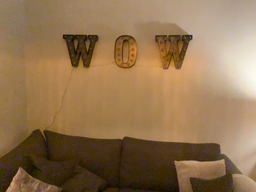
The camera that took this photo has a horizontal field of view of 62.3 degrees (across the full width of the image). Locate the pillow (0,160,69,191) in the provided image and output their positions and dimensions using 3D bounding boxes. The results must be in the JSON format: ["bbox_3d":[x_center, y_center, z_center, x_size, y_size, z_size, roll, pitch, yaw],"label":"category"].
[{"bbox_3d":[-0.760,0.790,1.660,0.440,0.200,0.400,34,7,-4],"label":"pillow"}]

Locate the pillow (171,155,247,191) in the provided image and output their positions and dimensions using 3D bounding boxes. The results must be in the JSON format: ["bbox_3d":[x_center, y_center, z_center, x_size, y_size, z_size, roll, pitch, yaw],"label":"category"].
[{"bbox_3d":[0.640,0.780,1.790,0.460,0.360,0.450,2,9,3],"label":"pillow"}]
